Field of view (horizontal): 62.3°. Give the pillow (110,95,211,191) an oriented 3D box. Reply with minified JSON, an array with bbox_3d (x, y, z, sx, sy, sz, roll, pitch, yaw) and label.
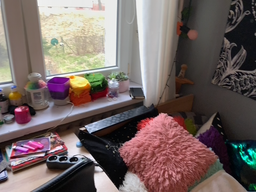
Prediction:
[{"bbox_3d":[0.200,0.270,1.200,0.180,0.450,0.450,31,103,44],"label":"pillow"}]

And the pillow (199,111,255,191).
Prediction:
[{"bbox_3d":[0.720,0.340,1.330,0.460,0.190,0.300,32,127,47],"label":"pillow"}]
